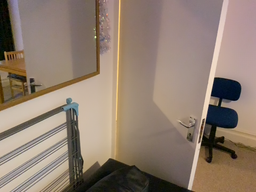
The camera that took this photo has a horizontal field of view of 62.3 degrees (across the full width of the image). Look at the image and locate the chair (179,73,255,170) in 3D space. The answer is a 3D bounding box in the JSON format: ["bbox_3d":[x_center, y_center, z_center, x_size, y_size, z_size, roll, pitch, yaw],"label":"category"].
[{"bbox_3d":[1.080,0.260,2.590,0.630,0.860,0.640,14,24,26],"label":"chair"}]
